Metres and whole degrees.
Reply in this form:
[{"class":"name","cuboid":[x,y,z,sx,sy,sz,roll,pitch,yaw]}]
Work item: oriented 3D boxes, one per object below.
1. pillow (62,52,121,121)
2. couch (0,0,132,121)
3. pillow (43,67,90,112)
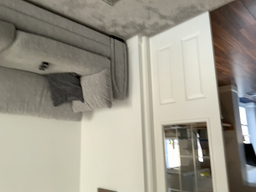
[{"class":"pillow","cuboid":[-0.420,-0.070,2.260,0.240,0.410,0.680,8,145,-41]},{"class":"couch","cuboid":[-1.140,-0.290,1.780,1.020,0.860,2.300,-12,165,44]},{"class":"pillow","cuboid":[-0.640,-0.070,2.220,0.390,0.300,0.200,-19,151,-6]}]
